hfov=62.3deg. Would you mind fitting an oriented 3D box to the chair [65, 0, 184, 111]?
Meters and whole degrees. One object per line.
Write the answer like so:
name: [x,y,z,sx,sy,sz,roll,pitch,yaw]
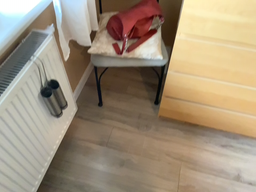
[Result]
chair: [-0.010,-0.470,1.440,0.530,0.980,0.680,3,52,1]
